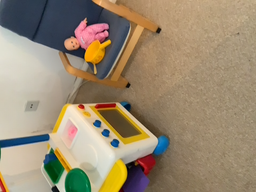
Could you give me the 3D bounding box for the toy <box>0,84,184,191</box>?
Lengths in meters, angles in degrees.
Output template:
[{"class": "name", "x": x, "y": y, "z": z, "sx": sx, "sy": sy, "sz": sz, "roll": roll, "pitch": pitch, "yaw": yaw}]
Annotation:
[{"class": "toy", "x": -0.270, "y": 0.330, "z": 1.030, "sx": 0.510, "sy": 0.930, "sz": 0.560, "roll": 44, "pitch": 115, "yaw": 28}]
